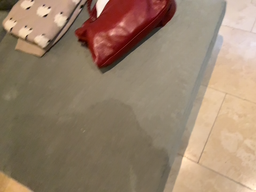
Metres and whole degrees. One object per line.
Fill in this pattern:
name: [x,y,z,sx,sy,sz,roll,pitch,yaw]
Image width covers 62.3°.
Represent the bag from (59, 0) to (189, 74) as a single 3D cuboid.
bag: [-0.020,-0.350,0.870,0.410,0.120,0.320,-38,66,-1]
